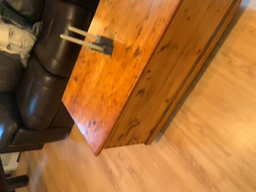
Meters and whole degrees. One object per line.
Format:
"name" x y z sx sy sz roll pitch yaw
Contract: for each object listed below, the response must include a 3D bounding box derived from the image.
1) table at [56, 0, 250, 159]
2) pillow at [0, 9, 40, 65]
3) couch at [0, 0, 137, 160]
"table" 0.080 -0.240 1.220 0.530 0.500 1.020 43 115 37
"pillow" -0.960 -0.460 1.700 0.140 0.380 0.400 32 109 12
"couch" -0.900 -0.410 1.830 0.990 0.990 1.630 45 117 36
